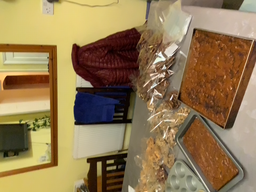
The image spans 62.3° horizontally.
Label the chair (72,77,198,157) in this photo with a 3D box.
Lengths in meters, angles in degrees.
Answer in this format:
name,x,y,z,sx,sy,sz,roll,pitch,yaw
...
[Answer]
name,x,y,z,sx,sy,sz,roll,pitch,yaw
chair,0.040,0.130,2.020,0.570,1.000,0.440,39,128,54
